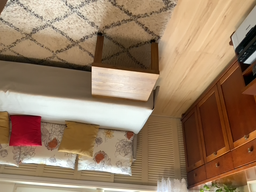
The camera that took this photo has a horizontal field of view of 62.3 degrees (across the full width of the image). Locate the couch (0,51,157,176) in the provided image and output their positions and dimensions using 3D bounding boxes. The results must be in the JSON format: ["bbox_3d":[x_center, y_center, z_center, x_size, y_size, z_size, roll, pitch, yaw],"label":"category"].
[{"bbox_3d":[-0.830,0.260,2.340,2.050,0.880,1.040,7,150,-8],"label":"couch"}]
